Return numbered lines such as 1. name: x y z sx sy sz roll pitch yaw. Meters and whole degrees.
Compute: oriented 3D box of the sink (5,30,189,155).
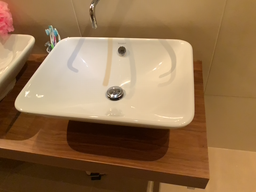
1. sink: -0.060 -0.060 0.800 0.540 0.140 0.460 6 47 11
